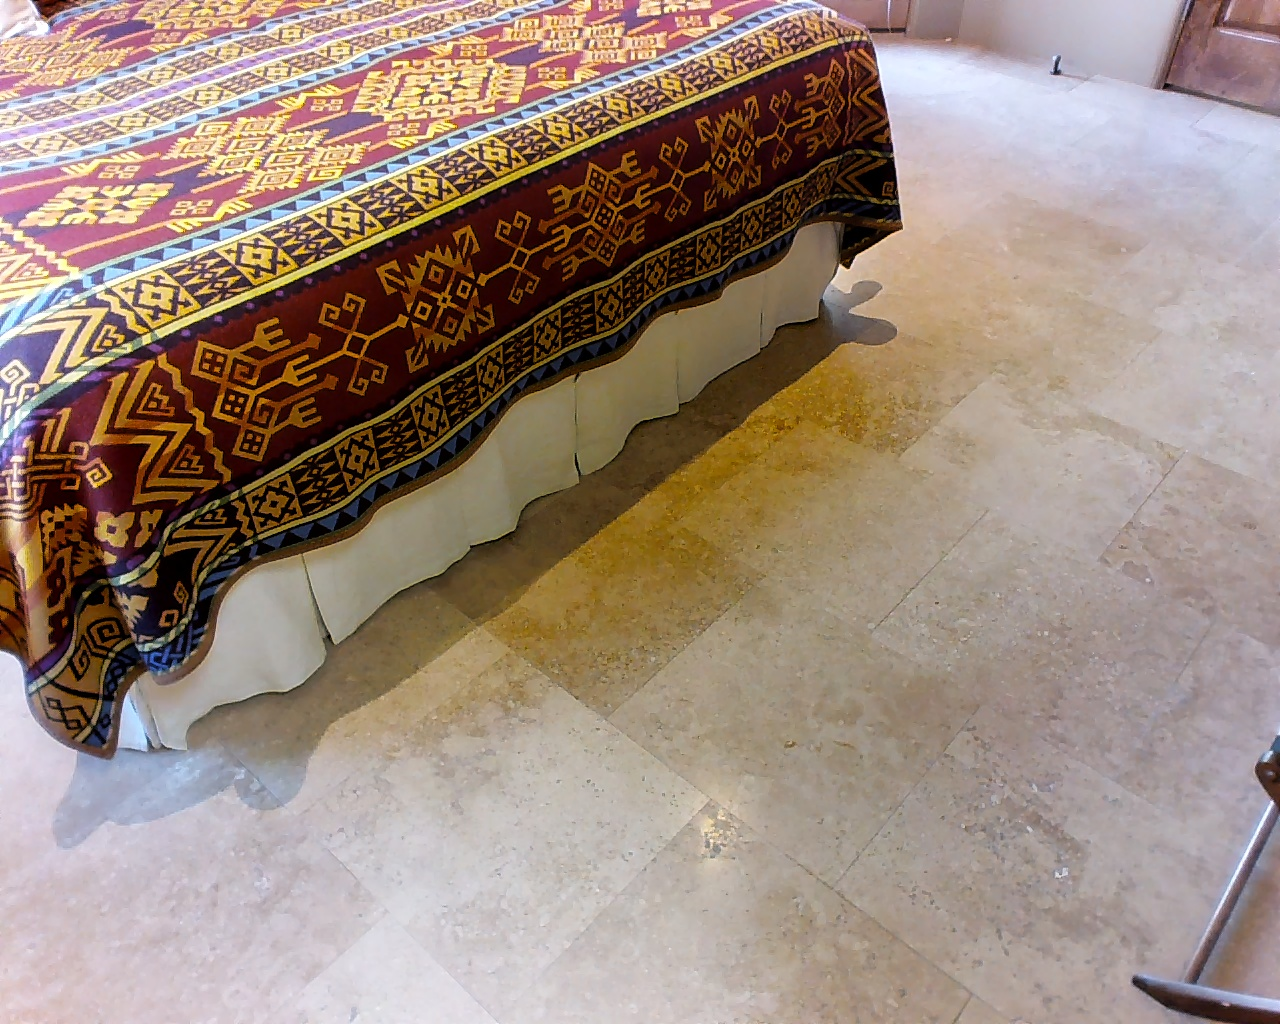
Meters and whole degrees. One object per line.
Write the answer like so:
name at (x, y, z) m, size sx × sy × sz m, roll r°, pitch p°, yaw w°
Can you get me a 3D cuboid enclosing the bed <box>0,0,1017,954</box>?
bed at (-0.810, -0.750, 2.490) m, size 2.330 × 0.890 × 2.260 m, roll 30°, pitch 49°, yaw 29°
